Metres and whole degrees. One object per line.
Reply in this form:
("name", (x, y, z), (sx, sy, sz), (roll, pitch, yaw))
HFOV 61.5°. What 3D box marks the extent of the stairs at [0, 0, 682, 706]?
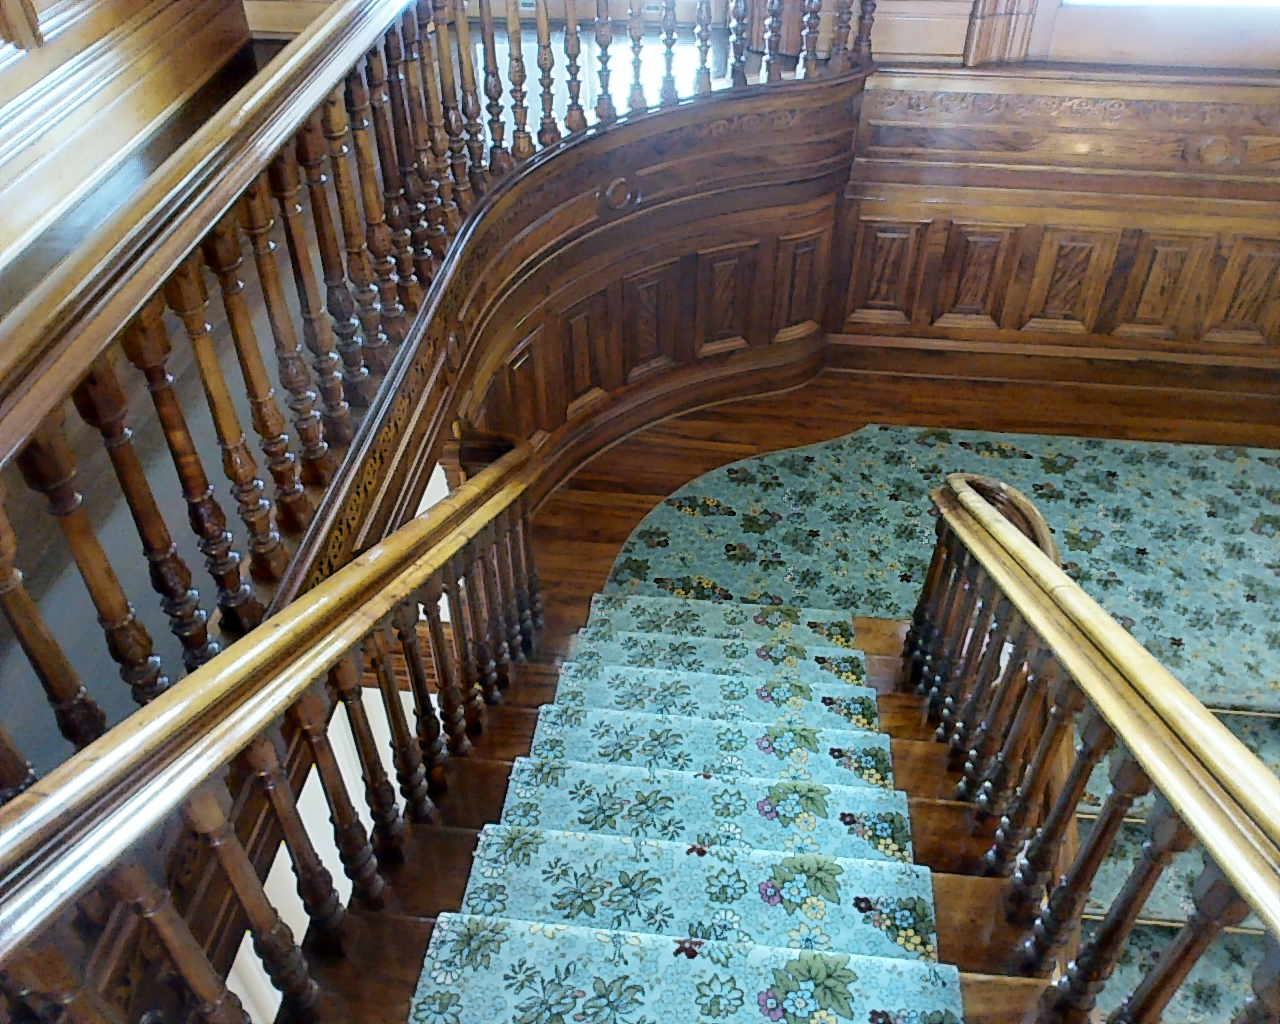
("stairs", (-0.570, -1.070, 2.780), (1.160, 1.570, 2.590), (4, 43, 5))
